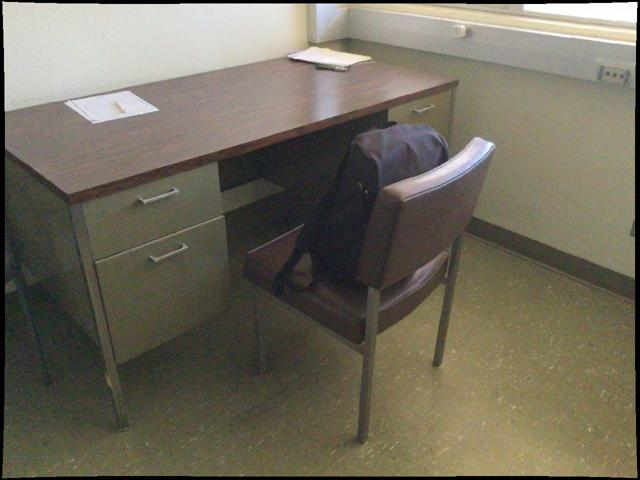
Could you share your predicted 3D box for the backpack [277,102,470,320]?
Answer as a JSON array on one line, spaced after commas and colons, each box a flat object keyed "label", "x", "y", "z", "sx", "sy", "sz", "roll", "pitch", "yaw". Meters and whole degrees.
[{"label": "backpack", "x": 0.140, "y": -0.100, "z": 1.570, "sx": 0.360, "sy": 0.411, "sz": 0.340, "roll": -27, "pitch": 39, "yaw": -37}]

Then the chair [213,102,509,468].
[{"label": "chair", "x": 0.110, "y": 0.090, "z": 1.740, "sx": 0.539, "sy": 0.792, "sz": 0.579, "roll": -27, "pitch": 39, "yaw": -37}]
